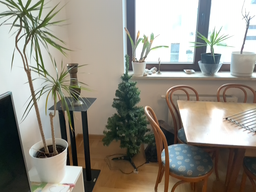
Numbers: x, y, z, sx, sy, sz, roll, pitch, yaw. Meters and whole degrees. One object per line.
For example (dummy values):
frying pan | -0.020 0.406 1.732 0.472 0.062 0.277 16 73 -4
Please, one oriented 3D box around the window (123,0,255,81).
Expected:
window | 0.870 -1.090 2.250 1.830 1.830 0.220 2 20 7

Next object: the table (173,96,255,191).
table | 1.320 0.520 1.820 1.730 0.740 0.840 2 20 7
